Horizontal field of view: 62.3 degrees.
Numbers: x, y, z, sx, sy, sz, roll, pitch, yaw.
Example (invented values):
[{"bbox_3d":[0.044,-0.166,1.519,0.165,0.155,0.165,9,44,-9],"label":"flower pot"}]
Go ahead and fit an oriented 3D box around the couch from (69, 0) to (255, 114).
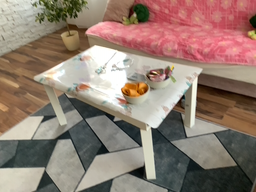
[{"bbox_3d":[0.560,-0.680,1.960,2.050,0.880,0.960,19,44,32],"label":"couch"}]
